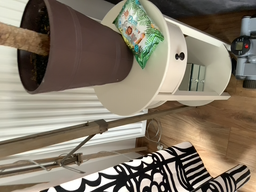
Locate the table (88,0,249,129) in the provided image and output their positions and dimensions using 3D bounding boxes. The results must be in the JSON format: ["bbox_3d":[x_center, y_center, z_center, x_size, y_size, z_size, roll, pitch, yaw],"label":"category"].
[{"bbox_3d":[0.200,-0.120,0.940,0.370,0.600,0.380,14,99,45],"label":"table"}]
